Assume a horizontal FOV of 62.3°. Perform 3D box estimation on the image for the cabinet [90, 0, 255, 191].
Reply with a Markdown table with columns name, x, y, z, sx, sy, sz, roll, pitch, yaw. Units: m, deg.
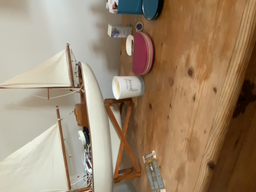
| name | x | y | z | sx | sy | sz | roll | pitch | yaw |
| --- | --- | --- | --- | --- | --- | --- | --- | --- | --- |
| cabinet | 0.190 | -0.090 | 0.640 | 0.600 | 0.470 | 0.990 | -130 | 40 | -55 |
